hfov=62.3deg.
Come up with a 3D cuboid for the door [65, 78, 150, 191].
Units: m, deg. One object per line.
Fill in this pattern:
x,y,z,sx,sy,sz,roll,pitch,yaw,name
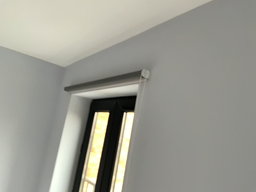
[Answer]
-0.310,0.910,1.730,0.070,2.070,0.940,17,-13,-34,door
